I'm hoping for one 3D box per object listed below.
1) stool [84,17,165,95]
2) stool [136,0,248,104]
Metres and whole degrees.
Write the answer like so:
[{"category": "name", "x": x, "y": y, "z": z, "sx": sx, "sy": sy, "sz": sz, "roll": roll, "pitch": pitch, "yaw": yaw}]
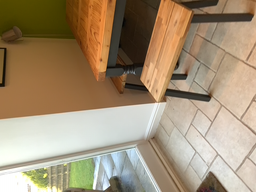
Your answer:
[{"category": "stool", "x": -0.130, "y": -0.550, "z": 2.530, "sx": 1.360, "sy": 0.440, "sz": 0.290, "roll": -123, "pitch": 37, "yaw": -45}, {"category": "stool", "x": 0.390, "y": -0.310, "z": 1.460, "sx": 0.340, "sy": 0.450, "sz": 0.610, "roll": -123, "pitch": 37, "yaw": -45}]
